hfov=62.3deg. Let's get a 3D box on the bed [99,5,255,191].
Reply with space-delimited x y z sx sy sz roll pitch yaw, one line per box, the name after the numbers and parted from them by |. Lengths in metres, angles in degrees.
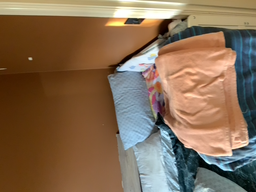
0.450 0.020 1.630 1.370 0.960 0.740 164 99 -69 | bed
